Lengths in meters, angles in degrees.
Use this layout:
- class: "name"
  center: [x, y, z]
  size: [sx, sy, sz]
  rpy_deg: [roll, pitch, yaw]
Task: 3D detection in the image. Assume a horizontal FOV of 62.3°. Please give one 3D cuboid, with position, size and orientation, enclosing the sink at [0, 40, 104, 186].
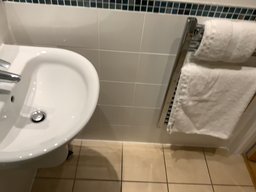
- class: "sink"
  center: [-0.330, 0.020, 0.790]
  size: [0.430, 0.160, 0.550]
  rpy_deg: [3, 45, -3]
